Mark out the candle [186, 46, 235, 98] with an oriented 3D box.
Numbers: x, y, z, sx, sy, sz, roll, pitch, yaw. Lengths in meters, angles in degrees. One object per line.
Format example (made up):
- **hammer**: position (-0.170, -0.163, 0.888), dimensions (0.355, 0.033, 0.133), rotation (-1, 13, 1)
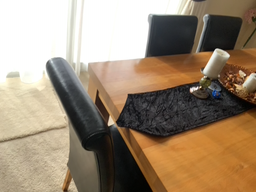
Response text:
- **candle**: position (0.410, -0.120, 1.080), dimensions (0.100, 0.240, 0.100), rotation (-13, 48, -32)
